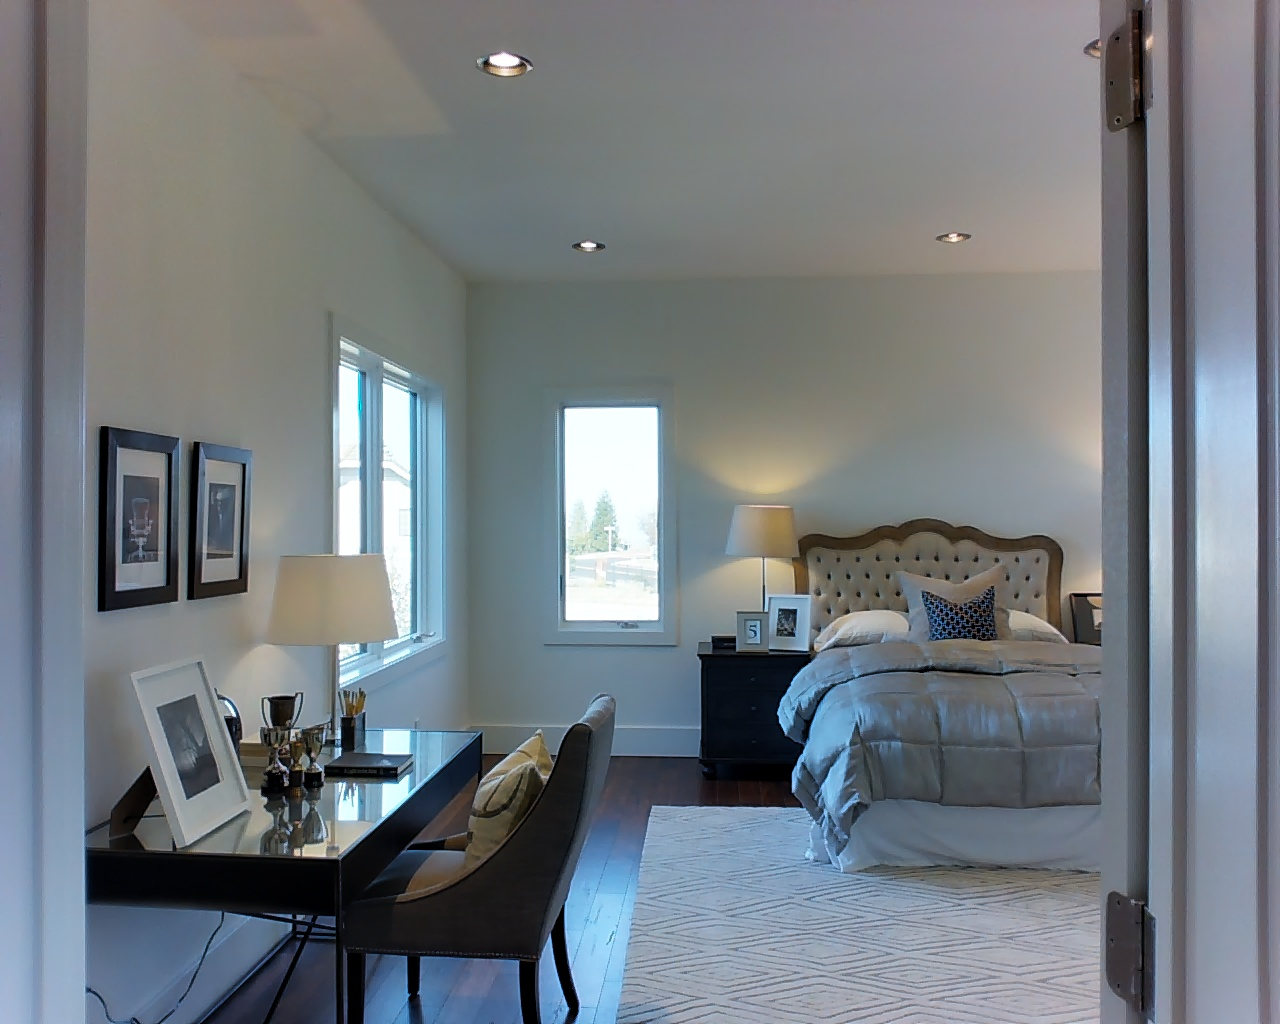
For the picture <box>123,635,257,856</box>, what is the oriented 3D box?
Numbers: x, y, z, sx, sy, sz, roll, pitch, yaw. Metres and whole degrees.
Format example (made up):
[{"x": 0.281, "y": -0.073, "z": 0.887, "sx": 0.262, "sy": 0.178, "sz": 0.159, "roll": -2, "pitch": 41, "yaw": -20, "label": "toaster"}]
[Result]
[{"x": -1.140, "y": 0.610, "z": 2.760, "sx": 0.080, "sy": 0.500, "sz": 0.400, "roll": 0, "pitch": -21, "yaw": 4, "label": "picture"}]
